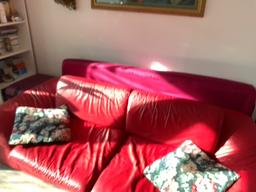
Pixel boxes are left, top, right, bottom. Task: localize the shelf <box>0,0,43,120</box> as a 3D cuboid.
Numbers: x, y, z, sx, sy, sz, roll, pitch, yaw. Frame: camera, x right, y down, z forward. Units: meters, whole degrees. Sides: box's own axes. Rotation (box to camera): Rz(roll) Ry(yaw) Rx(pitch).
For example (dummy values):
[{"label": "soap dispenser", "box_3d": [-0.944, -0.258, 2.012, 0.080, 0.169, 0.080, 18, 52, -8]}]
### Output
[{"label": "shelf", "box_3d": [-1.550, -0.870, 2.490, 0.380, 2.250, 0.640, 13, 29, 20]}]
